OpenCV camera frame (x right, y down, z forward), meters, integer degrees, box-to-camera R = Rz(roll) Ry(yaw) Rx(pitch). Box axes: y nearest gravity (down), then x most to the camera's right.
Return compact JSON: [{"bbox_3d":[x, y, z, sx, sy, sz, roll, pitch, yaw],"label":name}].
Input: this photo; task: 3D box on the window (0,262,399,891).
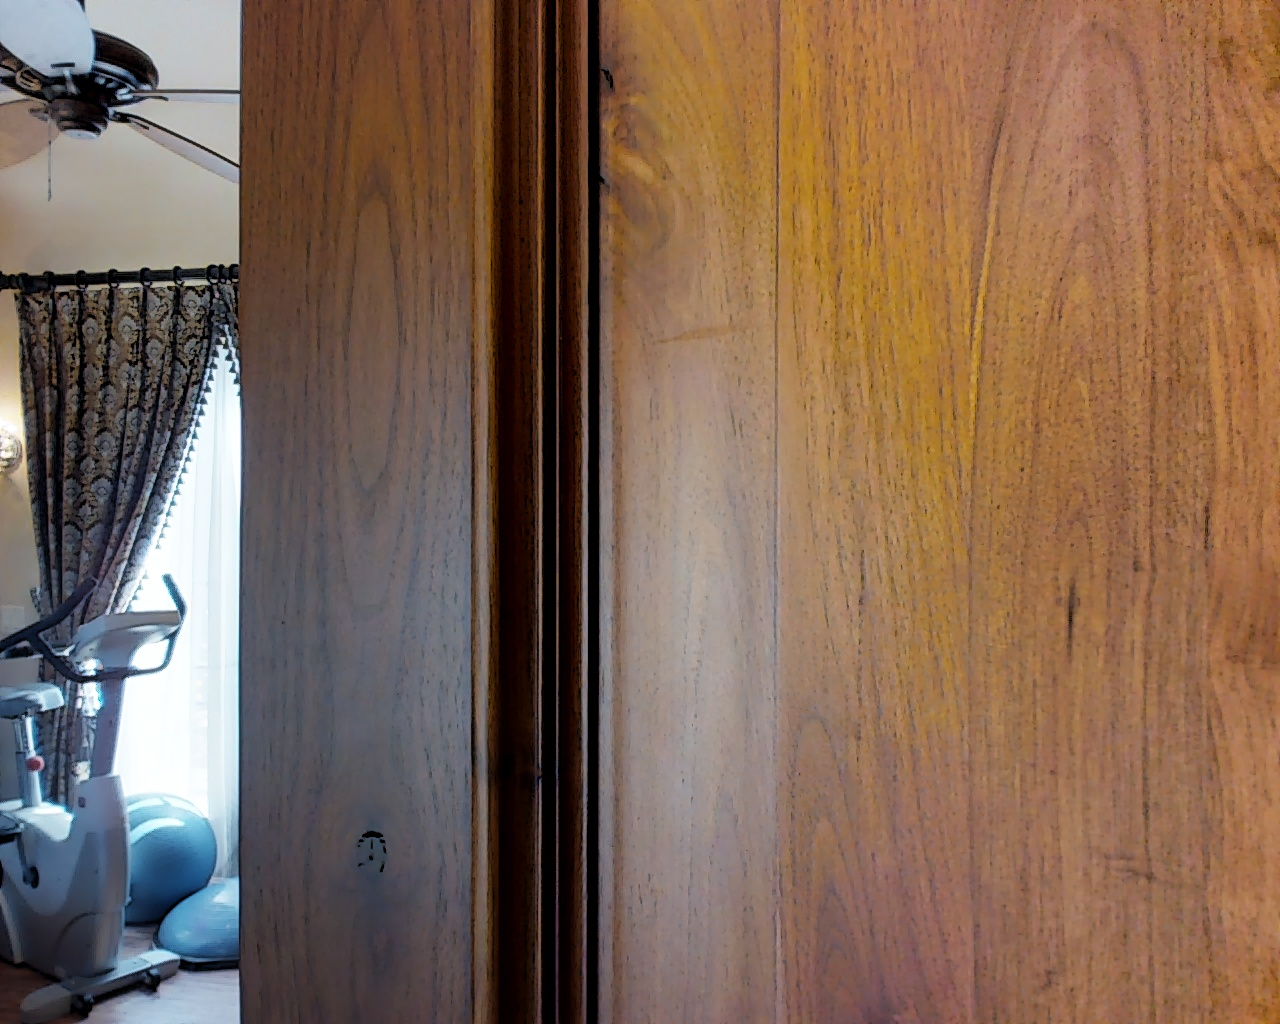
[{"bbox_3d":[-1.820,0.240,4.330,1.640,2.350,0.360,0,0,11],"label":"window"}]
